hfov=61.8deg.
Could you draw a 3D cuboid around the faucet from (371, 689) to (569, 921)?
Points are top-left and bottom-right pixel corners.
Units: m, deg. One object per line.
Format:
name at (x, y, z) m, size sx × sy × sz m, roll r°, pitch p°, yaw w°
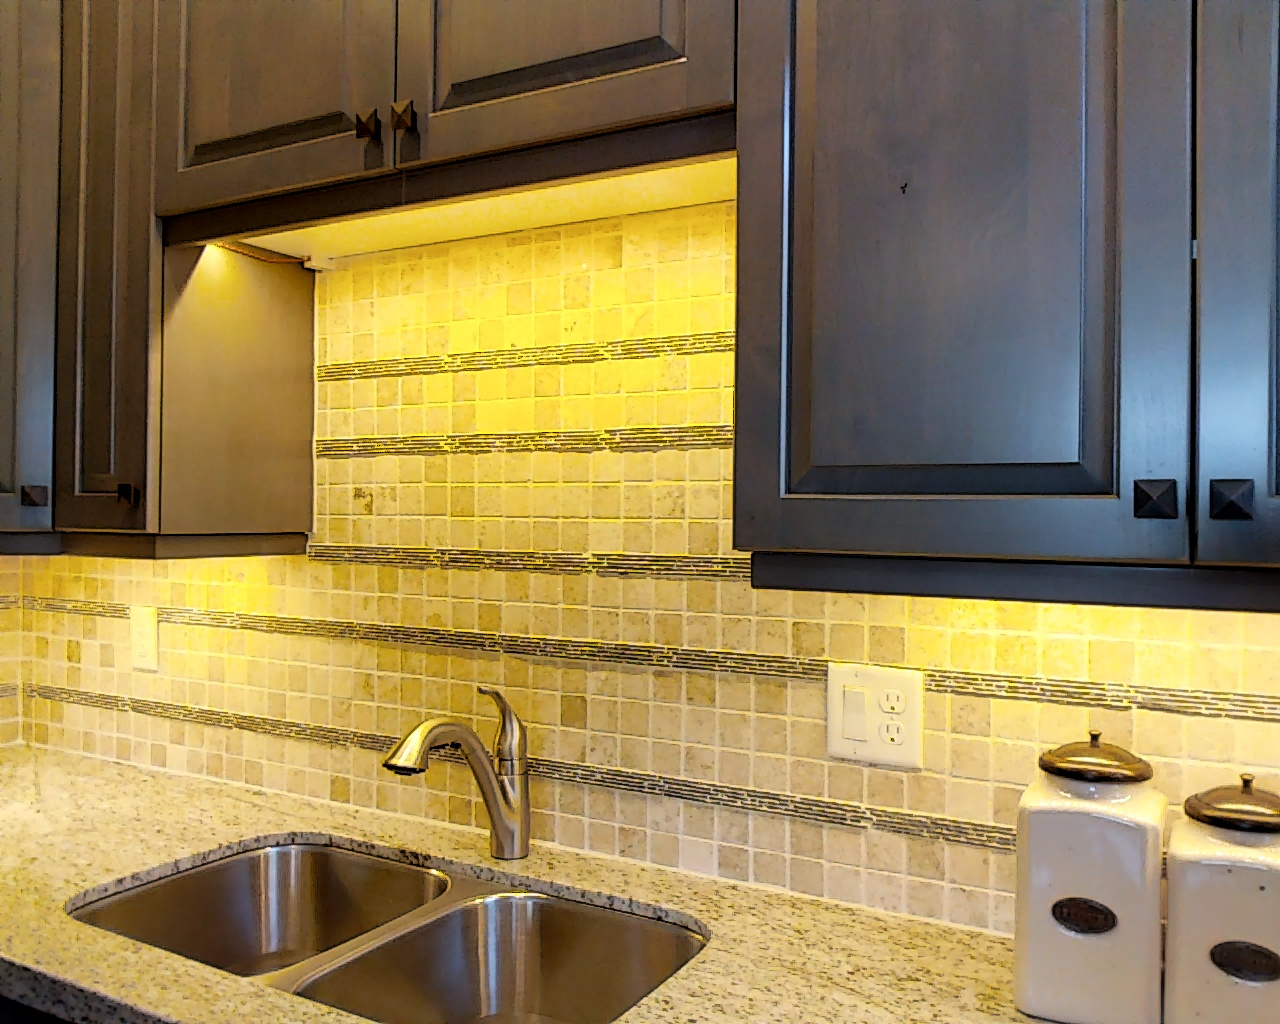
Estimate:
faucet at (-0.220, 0.380, 1.450) m, size 0.090 × 0.230 × 0.310 m, roll 1°, pitch 0°, yaw 29°
